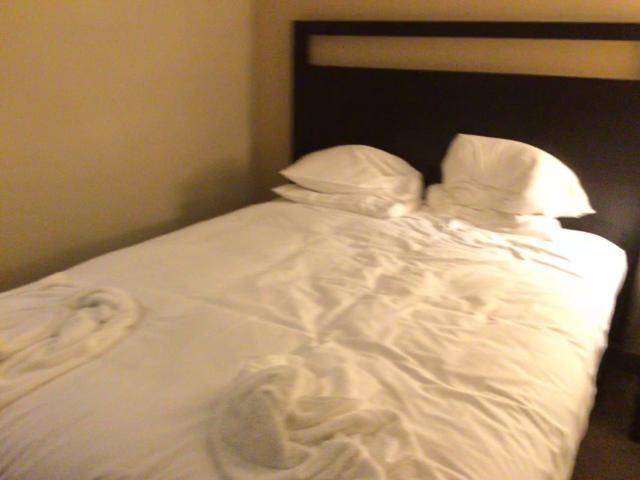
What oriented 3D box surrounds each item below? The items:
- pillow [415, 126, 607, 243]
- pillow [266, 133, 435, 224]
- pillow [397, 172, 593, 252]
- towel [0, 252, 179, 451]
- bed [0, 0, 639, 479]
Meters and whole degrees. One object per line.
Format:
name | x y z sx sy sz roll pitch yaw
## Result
pillow | 0.740 -0.240 2.300 0.650 0.330 0.240 13 22 29
pillow | 0.130 -0.290 2.540 0.610 0.240 0.410 13 22 29
pillow | 0.690 -0.130 2.320 0.690 0.140 0.290 13 22 29
towel | -0.710 0.230 1.390 0.480 0.160 0.530 13 22 29
bed | 0.040 0.040 1.780 1.800 1.460 2.170 13 22 29
